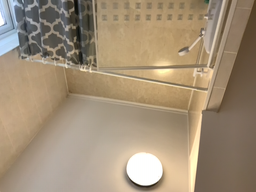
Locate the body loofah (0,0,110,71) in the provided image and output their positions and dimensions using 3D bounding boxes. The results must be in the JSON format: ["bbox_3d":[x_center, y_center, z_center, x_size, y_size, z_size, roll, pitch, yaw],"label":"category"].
[{"bbox_3d":[-0.500,-0.930,1.300,0.730,1.520,0.220,10,-144,10],"label":"body loofah"}]
